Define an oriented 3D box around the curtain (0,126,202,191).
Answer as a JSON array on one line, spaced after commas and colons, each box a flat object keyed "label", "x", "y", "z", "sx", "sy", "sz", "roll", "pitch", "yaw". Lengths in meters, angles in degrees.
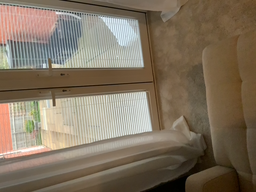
[{"label": "curtain", "x": -0.360, "y": 0.530, "z": 1.210, "sx": 0.160, "sy": 2.120, "sz": 0.360, "roll": -10, "pitch": 87, "yaw": 57}]
